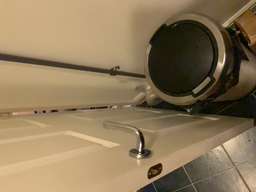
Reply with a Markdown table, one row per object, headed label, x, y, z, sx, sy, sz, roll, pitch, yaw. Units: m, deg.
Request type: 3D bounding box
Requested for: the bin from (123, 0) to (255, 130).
| label | x | y | z | sx | sy | sz | roll | pitch | yaw |
| --- | --- | --- | --- | --- | --- | --- | --- | --- | --- |
| bin | 0.400 | -0.140 | 1.080 | 0.490 | 0.590 | 0.370 | -39 | 66 | 34 |
